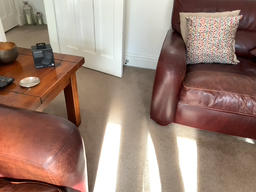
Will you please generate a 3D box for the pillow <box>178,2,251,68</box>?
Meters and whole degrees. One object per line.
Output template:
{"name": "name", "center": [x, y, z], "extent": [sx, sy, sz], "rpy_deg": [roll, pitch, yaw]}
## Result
{"name": "pillow", "center": [0.660, -0.470, 1.660], "extent": [0.460, 0.340, 0.250], "rpy_deg": [-10, 28, 19]}
